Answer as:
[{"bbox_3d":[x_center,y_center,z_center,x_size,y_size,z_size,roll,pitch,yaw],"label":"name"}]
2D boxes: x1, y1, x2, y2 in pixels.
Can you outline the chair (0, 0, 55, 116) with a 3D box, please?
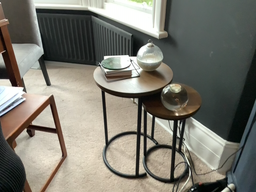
[{"bbox_3d":[-0.970,-0.380,1.660,0.450,0.910,0.580,0,33,0],"label":"chair"}]
